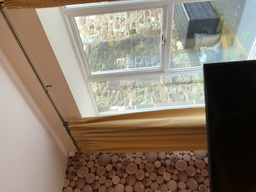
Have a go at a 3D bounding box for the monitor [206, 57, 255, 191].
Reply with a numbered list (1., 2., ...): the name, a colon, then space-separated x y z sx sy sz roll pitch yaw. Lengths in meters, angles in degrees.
1. monitor: 1.010 0.360 1.540 0.070 0.800 1.280 -76 -19 -85

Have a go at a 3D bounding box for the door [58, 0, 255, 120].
1. door: 0.460 -0.620 2.440 2.660 2.150 0.090 83 -177 -48
